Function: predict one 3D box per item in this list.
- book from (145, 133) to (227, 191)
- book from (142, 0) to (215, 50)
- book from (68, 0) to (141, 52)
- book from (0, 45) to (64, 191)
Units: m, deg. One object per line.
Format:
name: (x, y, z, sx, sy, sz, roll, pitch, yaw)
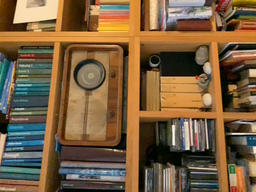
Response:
book: (0.260, 0.340, 1.050, 0.260, 0.330, 0.290, 88, -177, -77)
book: (0.260, -0.460, 1.200, 0.280, 0.340, 0.300, 88, -177, -79)
book: (-0.120, -0.490, 1.280, 0.300, 0.380, 0.350, 88, -177, -80)
book: (-0.550, 0.120, 1.110, 0.230, 0.300, 0.720, 88, -177, -78)
